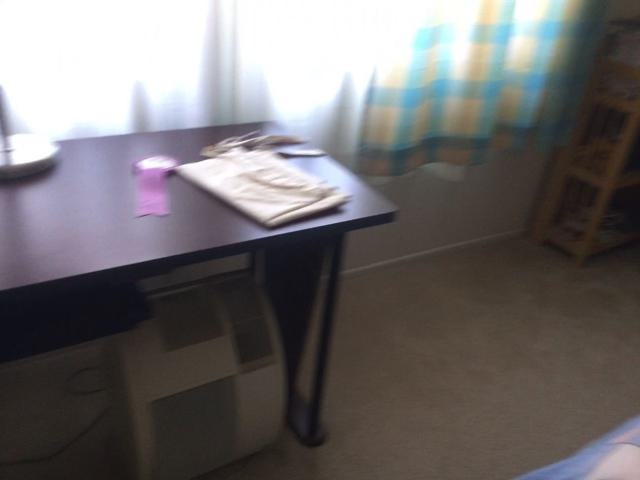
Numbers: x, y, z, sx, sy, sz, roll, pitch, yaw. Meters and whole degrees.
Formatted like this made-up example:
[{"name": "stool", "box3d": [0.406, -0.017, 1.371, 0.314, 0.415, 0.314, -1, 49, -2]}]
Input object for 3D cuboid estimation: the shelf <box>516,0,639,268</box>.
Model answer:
[{"name": "shelf", "box3d": [1.360, -0.480, 2.430, 0.750, 1.030, 0.380, -9, 31, -28]}]
